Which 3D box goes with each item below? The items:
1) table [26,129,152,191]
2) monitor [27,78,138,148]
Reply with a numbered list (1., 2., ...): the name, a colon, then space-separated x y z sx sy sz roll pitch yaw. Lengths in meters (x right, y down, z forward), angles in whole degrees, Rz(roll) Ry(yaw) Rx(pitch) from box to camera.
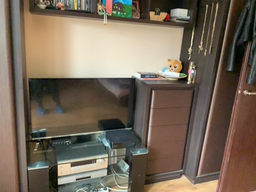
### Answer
1. table: -0.380 0.690 2.050 1.030 0.460 0.580 -2 16 -21
2. monitor: -0.400 0.140 2.030 1.000 0.610 0.080 -2 16 -22
